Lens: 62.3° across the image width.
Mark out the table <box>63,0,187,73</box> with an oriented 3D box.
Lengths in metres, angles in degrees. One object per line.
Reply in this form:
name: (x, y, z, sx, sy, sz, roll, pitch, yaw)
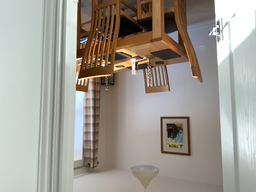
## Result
table: (-0.040, -0.790, 2.540, 1.220, 0.760, 0.820, -4, 174, 33)
